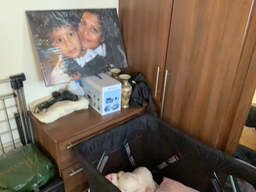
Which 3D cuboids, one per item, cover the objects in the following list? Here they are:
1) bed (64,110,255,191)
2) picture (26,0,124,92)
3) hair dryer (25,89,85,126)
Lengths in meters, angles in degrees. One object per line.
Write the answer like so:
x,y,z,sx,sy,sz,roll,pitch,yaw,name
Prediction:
0.240,0.710,1.340,0.770,0.690,1.050,-21,34,-40,bed
-0.330,-0.400,1.610,0.720,0.490,0.050,-36,52,-28,picture
-0.530,0.070,1.550,0.320,0.080,0.270,-20,34,-38,hair dryer
